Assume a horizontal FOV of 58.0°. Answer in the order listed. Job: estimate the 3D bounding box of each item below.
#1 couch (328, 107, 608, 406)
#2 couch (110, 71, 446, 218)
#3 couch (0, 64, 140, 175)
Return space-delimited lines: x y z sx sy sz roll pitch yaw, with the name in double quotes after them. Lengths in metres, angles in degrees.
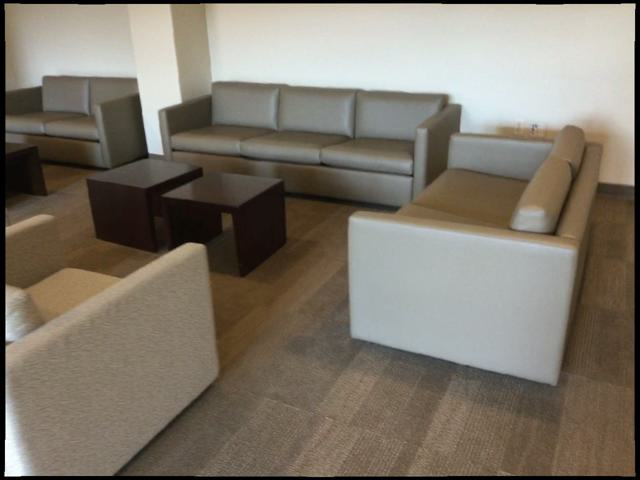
0.768 -0.100 2.830 0.948 0.731 1.630 9 26 19 "couch"
-0.319 -0.832 4.540 2.386 0.741 0.930 9 26 20 "couch"
-2.675 -1.162 5.340 1.637 0.731 0.890 9 26 20 "couch"
